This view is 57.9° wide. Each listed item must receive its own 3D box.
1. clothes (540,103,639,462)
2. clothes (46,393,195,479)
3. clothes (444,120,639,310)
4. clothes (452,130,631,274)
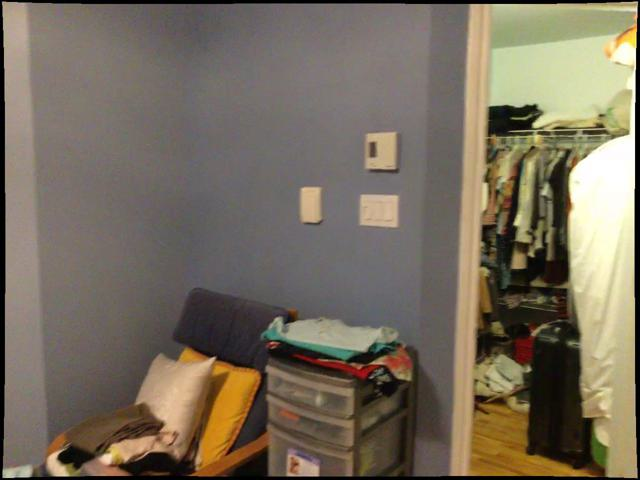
[{"bbox_3d":[1.309,0.170,2.690,0.360,1.521,0.460,5,10,40],"label":"clothes"},{"bbox_3d":[-0.669,0.701,1.940,0.400,0.190,0.300,5,10,41],"label":"clothes"},{"bbox_3d":[1.498,-0.210,3.960,1.099,1.111,0.630,5,10,40],"label":"clothes"},{"bbox_3d":[1.489,-0.290,3.940,0.949,0.841,0.670,5,10,40],"label":"clothes"}]
